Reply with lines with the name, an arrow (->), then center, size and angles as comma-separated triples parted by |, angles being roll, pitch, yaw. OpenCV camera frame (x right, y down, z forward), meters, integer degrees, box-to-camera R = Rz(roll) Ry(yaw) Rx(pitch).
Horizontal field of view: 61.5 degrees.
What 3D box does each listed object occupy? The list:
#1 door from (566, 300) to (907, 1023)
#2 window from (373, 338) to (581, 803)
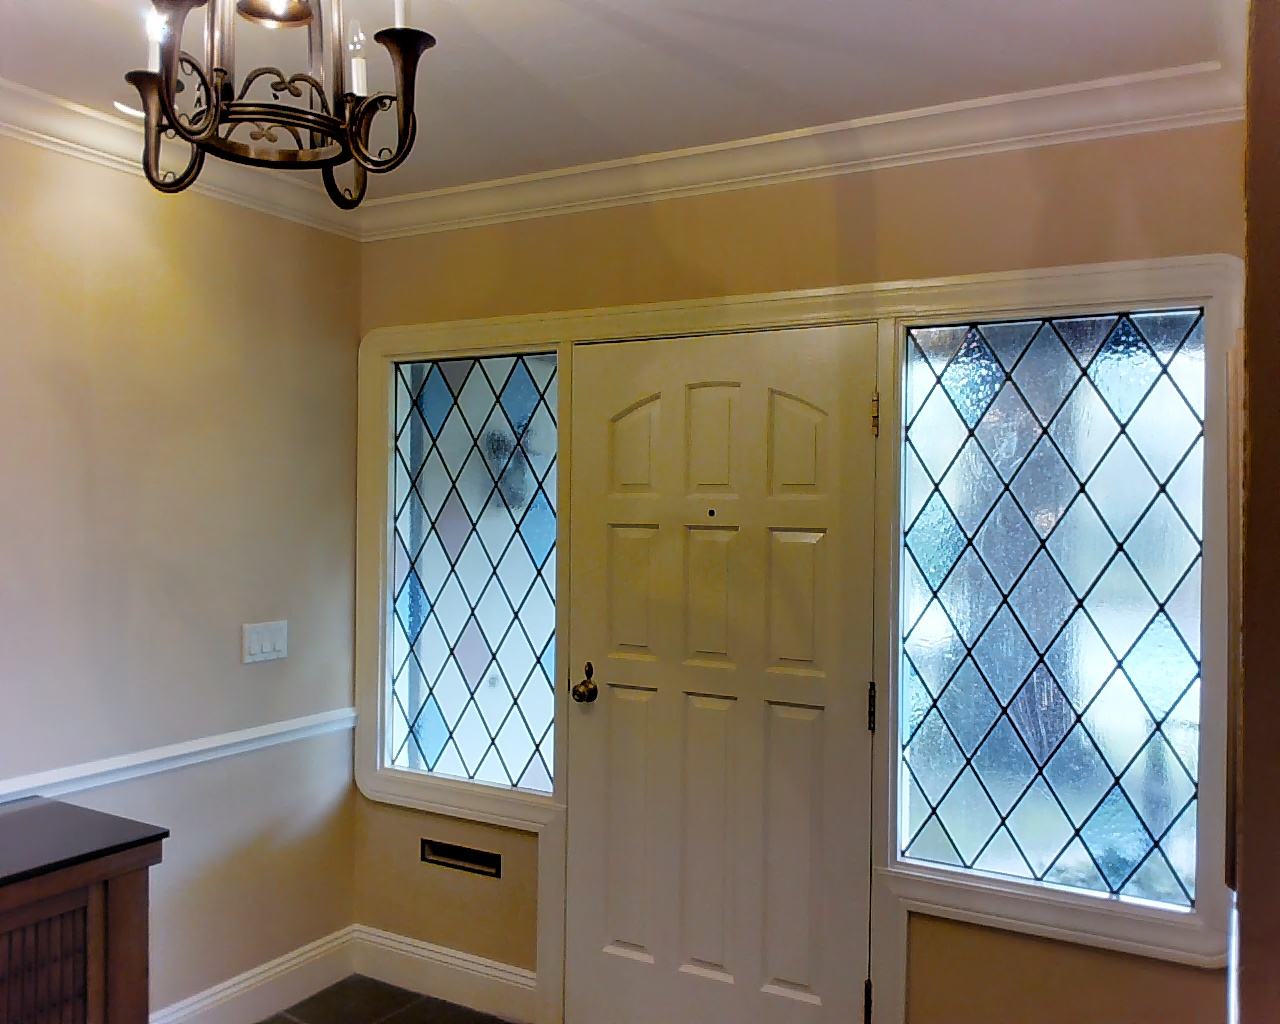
door -> 0.230, 0.500, 2.950 | 0.970, 2.060, 0.080 | 1, 0, 30
window -> -0.530, 0.170, 3.400 | 0.740, 1.370, 0.100 | 1, 0, 30
